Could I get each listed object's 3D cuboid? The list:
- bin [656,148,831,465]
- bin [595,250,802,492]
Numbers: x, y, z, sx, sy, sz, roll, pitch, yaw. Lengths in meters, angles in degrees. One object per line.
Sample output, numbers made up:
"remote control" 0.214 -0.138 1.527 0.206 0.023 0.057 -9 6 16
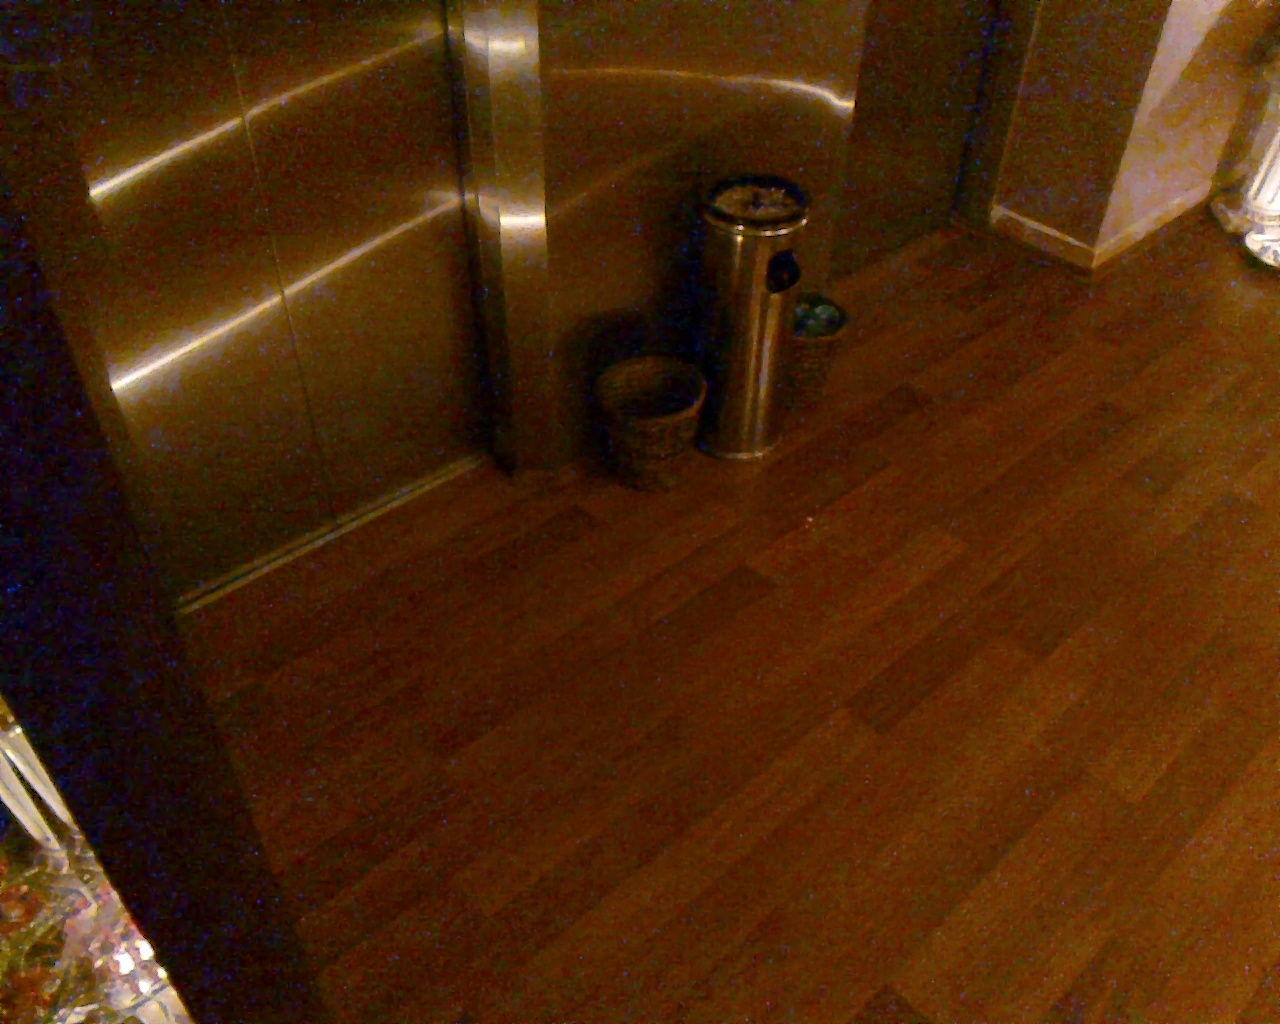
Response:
"bin" 0.220 -0.460 2.470 0.250 0.620 0.250 -31 51 -30
"bin" 0.130 -0.330 2.490 0.410 0.370 0.230 -31 51 -30
